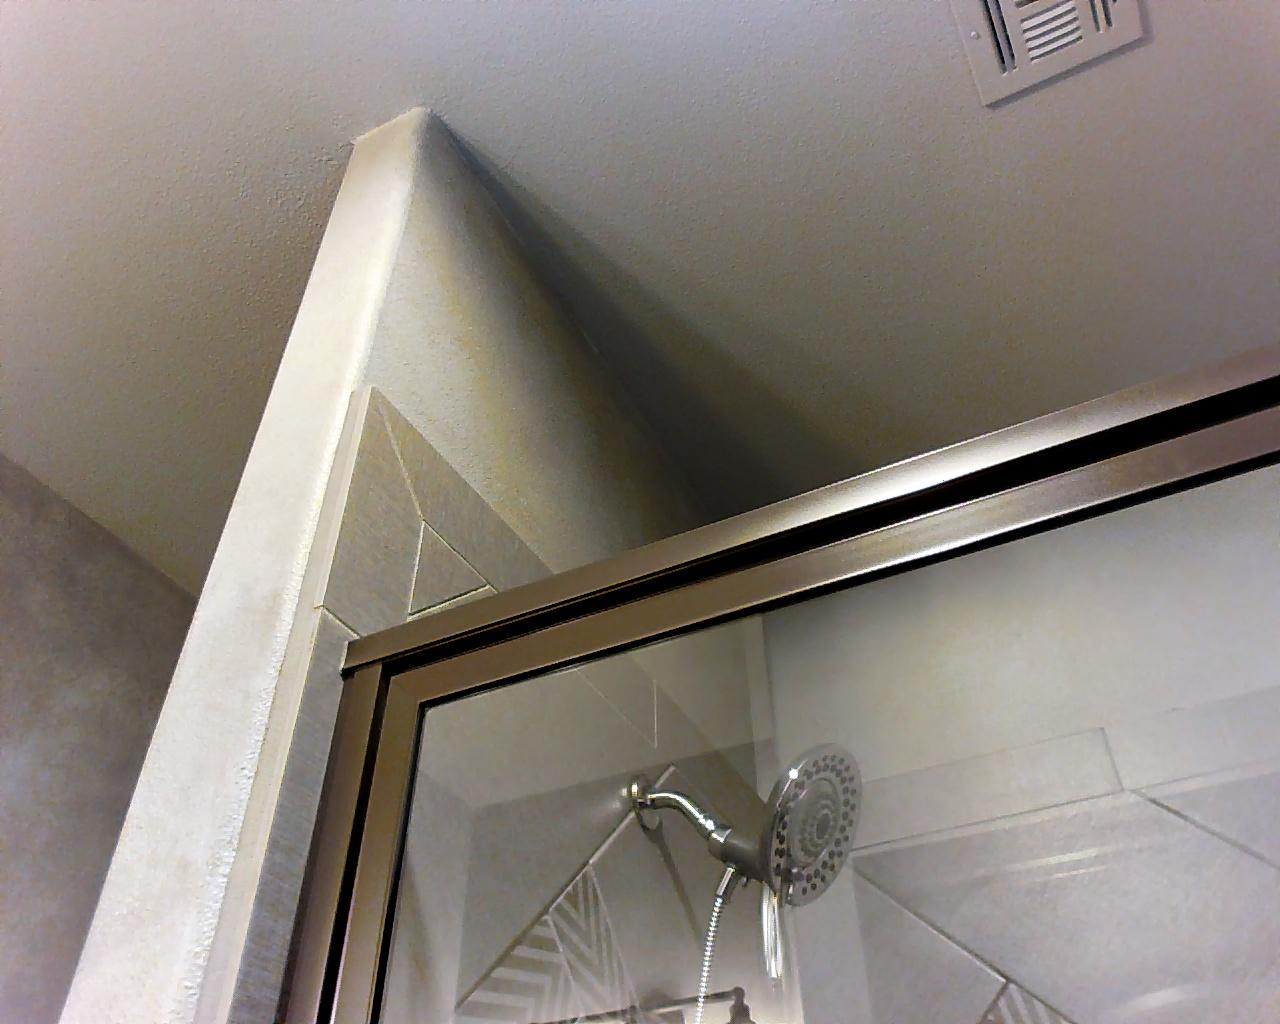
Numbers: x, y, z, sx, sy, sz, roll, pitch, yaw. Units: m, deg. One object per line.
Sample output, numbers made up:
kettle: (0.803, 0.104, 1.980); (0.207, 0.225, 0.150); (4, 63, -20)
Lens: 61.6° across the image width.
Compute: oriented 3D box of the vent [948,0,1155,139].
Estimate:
vent: (0.480, -0.580, 1.260); (0.200, 0.020, 0.230); (-19, -45, 20)

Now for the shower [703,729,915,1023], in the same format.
shower: (0.160, 0.380, 1.090); (0.140, 0.260, 0.140); (13, -43, -14)
